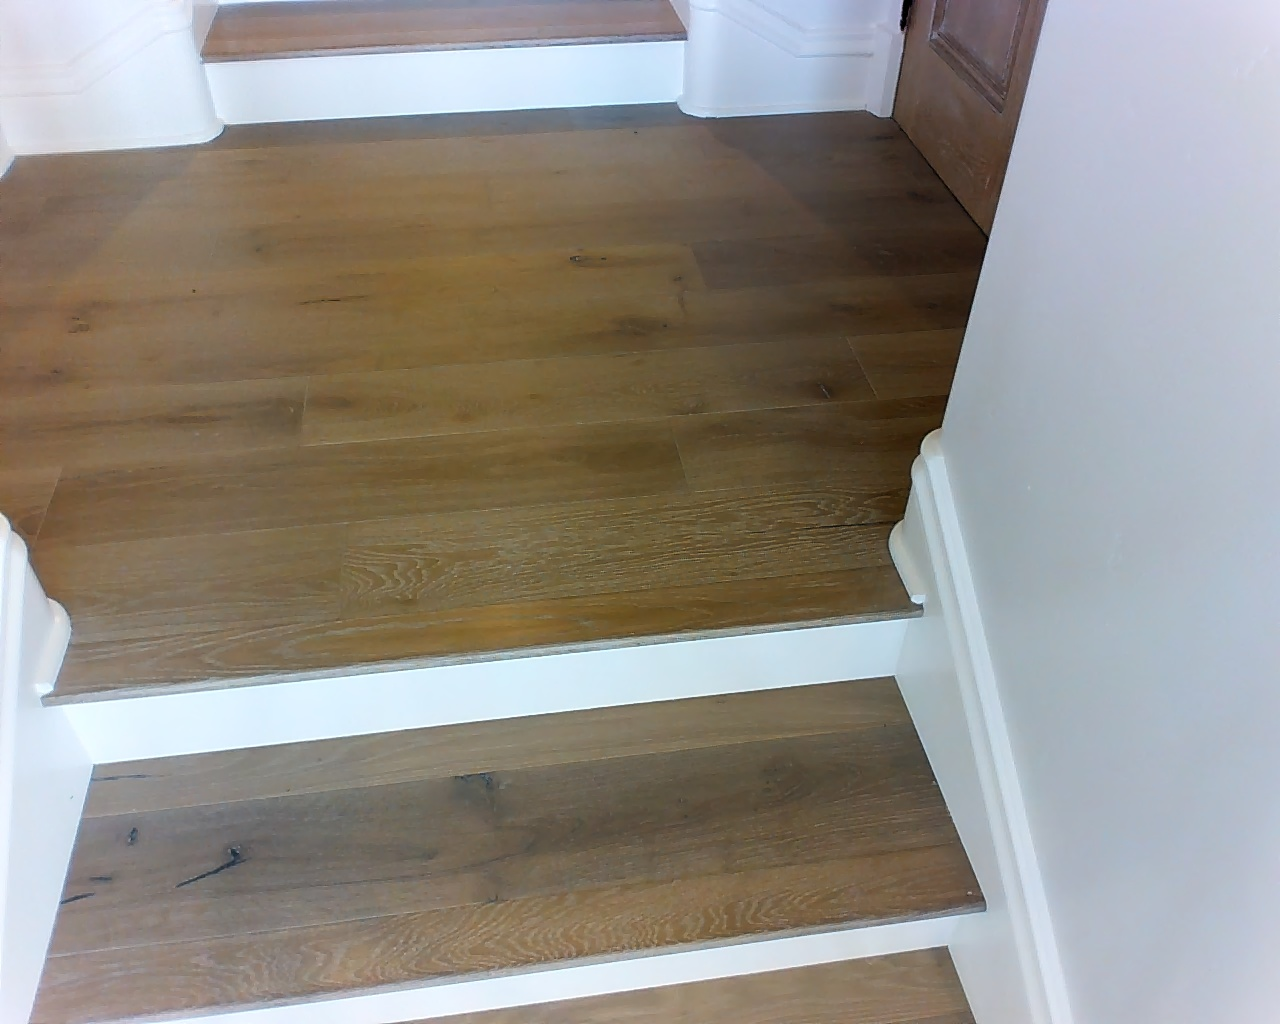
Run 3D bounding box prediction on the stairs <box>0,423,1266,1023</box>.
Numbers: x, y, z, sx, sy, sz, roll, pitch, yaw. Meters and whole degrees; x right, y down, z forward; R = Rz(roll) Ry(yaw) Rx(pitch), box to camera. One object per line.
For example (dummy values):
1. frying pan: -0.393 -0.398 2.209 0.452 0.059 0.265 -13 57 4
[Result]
1. stairs: -0.130 0.520 1.320 1.200 0.770 0.910 -5 44 -6
